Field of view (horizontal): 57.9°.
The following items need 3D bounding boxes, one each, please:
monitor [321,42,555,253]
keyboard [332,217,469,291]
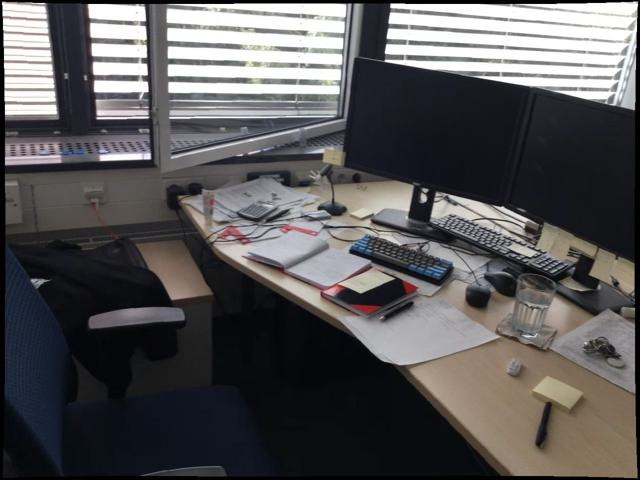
[{"bbox_3d":[0.340,-0.310,1.830,0.620,0.510,0.190,19,28,25],"label":"monitor"},{"bbox_3d":[0.230,0.030,1.660,0.320,0.040,0.220,24,31,33],"label":"keyboard"}]
